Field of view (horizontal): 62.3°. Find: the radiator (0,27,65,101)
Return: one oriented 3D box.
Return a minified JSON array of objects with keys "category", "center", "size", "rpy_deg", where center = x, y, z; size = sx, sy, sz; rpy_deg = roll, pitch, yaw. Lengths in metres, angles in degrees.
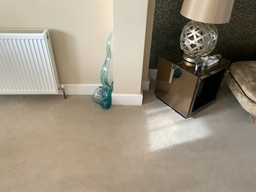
[{"category":"radiator","center":[-1.310,-0.260,1.870],"size":[1.360,0.650,0.160],"rpy_deg":[0,38,-4]}]
